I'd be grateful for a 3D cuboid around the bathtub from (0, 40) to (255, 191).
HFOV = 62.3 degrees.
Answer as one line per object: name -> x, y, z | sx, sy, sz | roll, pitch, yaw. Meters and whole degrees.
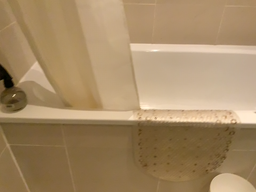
bathtub -> 0.350, 0.100, 1.220 | 1.660, 0.570, 0.740 | 1, 35, 0
